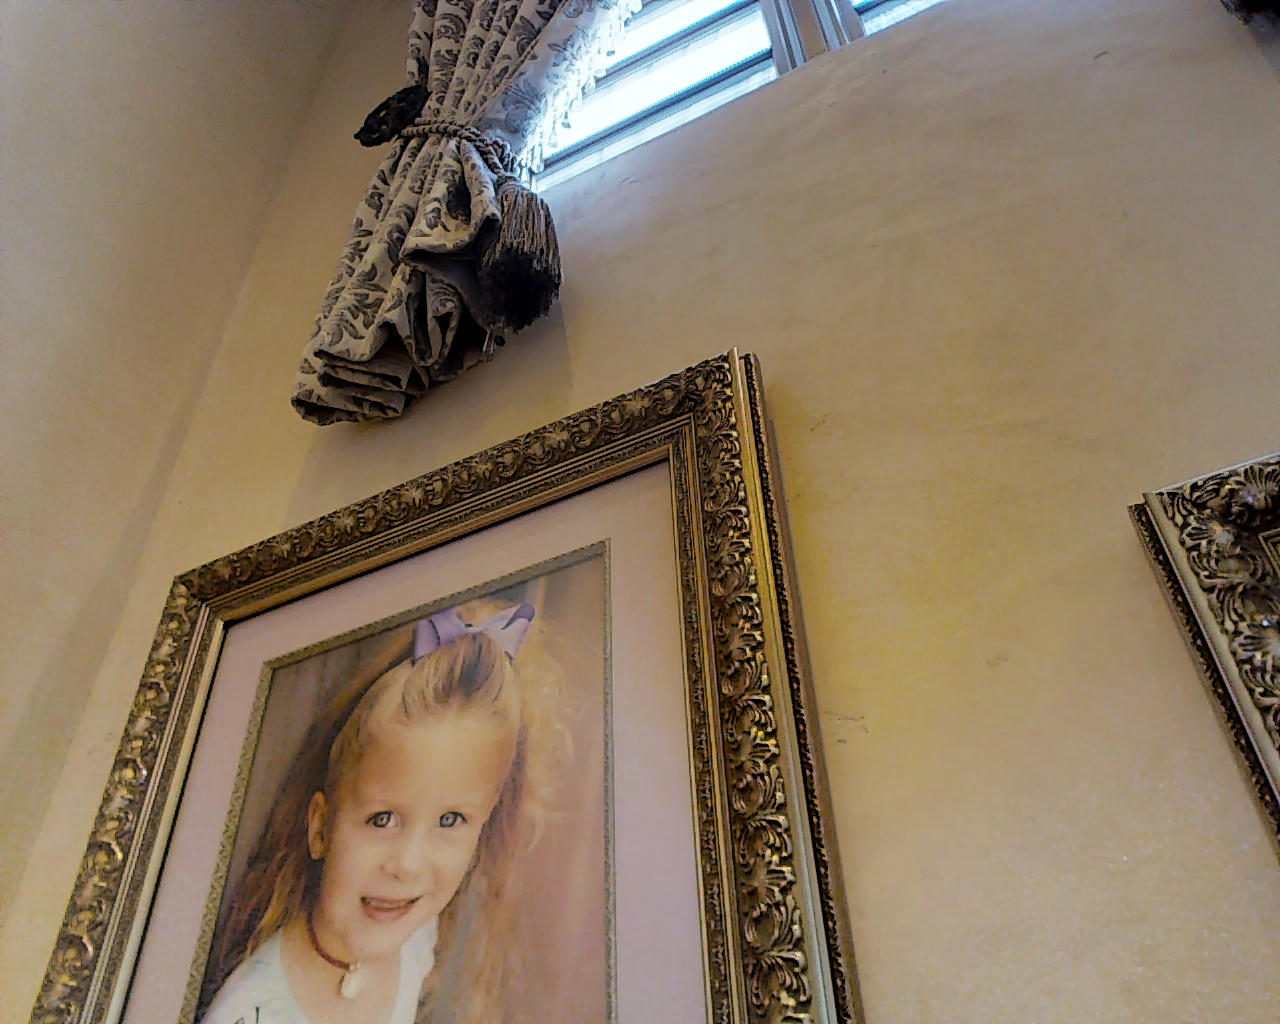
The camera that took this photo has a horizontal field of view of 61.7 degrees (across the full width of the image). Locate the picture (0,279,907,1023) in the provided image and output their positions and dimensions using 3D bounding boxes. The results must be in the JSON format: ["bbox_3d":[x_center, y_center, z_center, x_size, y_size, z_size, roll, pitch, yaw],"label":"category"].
[{"bbox_3d":[-0.210,0.250,0.900,0.790,0.910,0.070,-19,-45,19],"label":"picture"}]

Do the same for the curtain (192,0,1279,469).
[{"bbox_3d":[0.250,-1.040,1.660,1.650,1.800,0.210,-19,-45,19],"label":"curtain"}]
